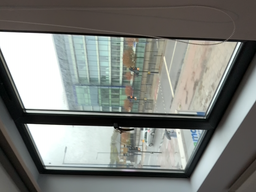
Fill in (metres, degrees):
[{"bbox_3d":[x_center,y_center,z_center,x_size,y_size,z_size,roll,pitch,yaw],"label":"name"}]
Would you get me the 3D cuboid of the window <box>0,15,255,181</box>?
[{"bbox_3d":[-0.080,0.190,1.550,0.140,1.390,1.440,-90,3,-48],"label":"window"}]
